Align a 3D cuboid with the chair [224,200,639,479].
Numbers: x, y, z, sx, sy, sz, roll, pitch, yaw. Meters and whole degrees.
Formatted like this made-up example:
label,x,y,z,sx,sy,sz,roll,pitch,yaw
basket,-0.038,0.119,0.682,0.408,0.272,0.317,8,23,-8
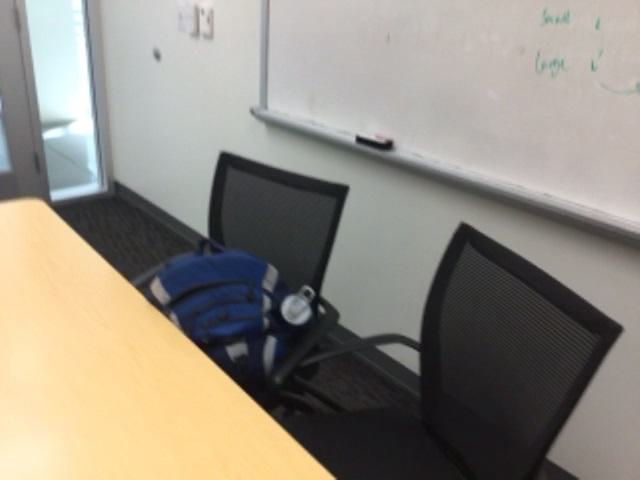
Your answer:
label,x,y,z,sx,sy,sz,roll,pitch,yaw
chair,0.160,0.450,1.190,0.560,0.880,0.550,-7,28,-25
